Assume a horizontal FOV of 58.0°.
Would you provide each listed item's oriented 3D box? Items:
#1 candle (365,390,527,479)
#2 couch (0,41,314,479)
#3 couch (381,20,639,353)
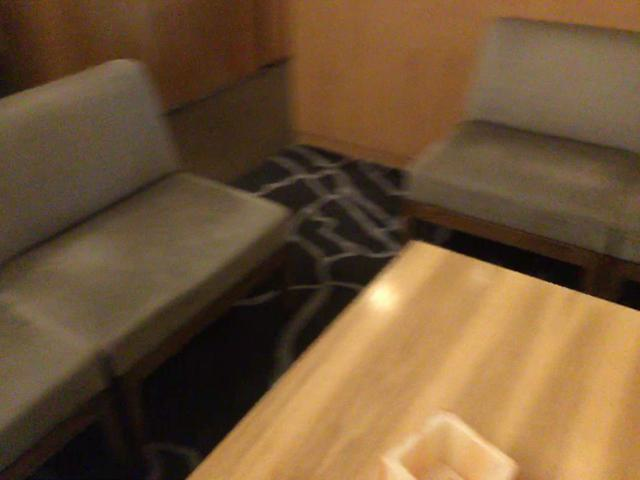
[{"bbox_3d":[0.190,0.370,0.880,0.170,0.140,0.180,19,39,31],"label":"candle"},{"bbox_3d":[-0.770,0.120,1.510,0.730,0.840,1.480,19,39,31],"label":"couch"},{"bbox_3d":[1.070,-0.190,1.910,1.540,0.750,0.780,19,39,31],"label":"couch"}]
